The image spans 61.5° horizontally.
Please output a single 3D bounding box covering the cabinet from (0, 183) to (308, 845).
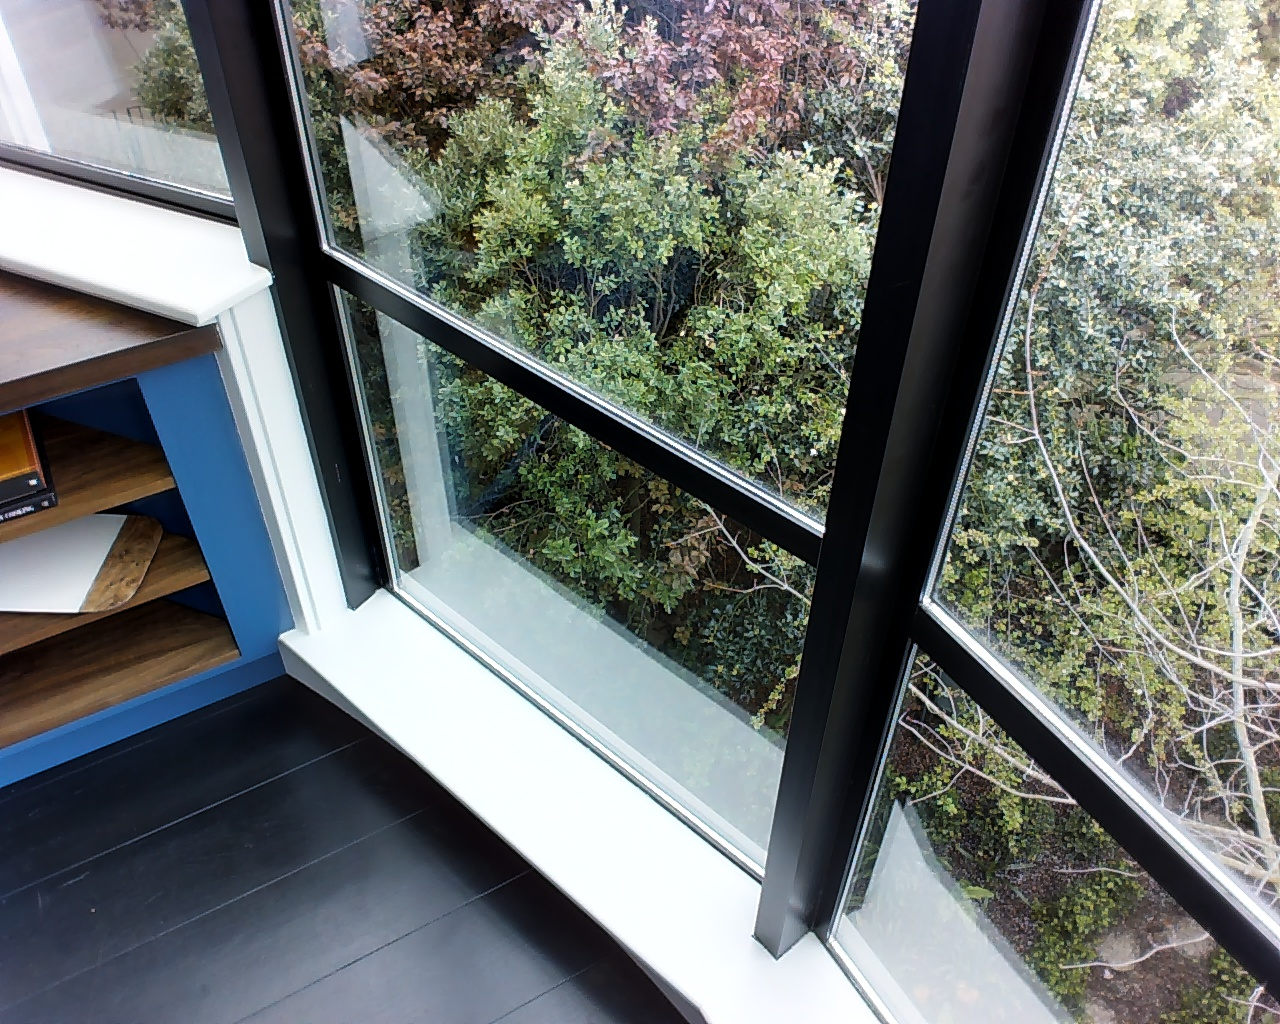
[{"bbox_3d":[-0.950,0.010,1.700,0.540,0.780,0.520,-22,47,-23],"label":"cabinet"}]
